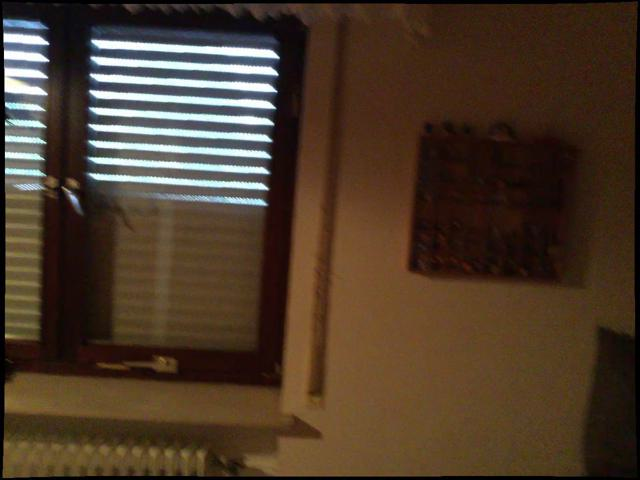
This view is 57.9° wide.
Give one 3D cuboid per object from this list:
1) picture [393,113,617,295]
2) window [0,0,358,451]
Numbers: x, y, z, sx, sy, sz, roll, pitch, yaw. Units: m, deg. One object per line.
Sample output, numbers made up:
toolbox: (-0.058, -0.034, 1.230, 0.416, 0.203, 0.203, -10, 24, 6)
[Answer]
picture: (0.529, -0.100, 1.690, 0.589, 0.490, 0.050, 3, 9, -1)
window: (-0.989, -0.130, 1.820, 2.108, 1.351, 0.420, 3, 9, -1)
